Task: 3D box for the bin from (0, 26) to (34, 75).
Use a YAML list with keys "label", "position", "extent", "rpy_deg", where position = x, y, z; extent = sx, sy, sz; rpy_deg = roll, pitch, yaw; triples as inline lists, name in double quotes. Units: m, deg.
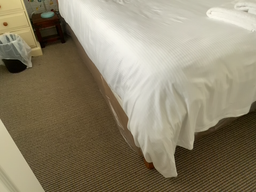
- label: "bin"
  position: [-1.050, -0.410, 1.900]
  extent: [0.280, 0.280, 0.280]
  rpy_deg: [-18, 43, -17]
